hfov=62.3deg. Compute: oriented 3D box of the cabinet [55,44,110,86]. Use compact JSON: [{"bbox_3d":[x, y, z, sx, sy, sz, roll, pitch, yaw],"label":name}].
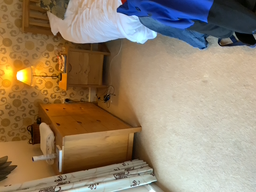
[{"bbox_3d":[-0.640,-0.420,2.950,0.480,0.600,0.490,16,103,58],"label":"cabinet"}]
